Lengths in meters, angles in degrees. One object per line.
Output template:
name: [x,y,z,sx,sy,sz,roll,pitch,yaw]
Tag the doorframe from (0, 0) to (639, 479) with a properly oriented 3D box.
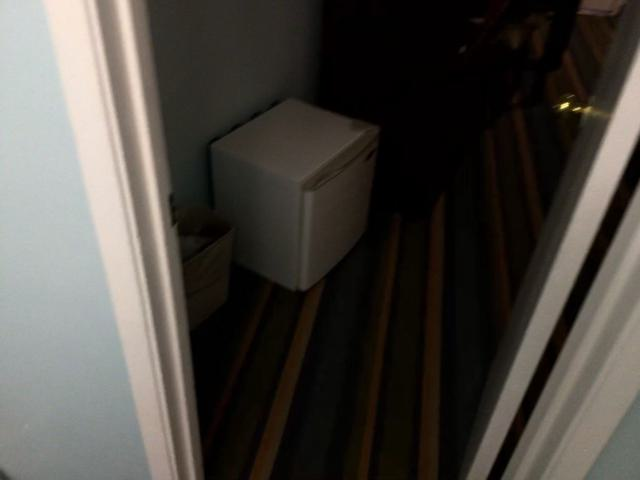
doorframe: [0.030,0.190,0.960,0.710,1.290,0.280,8,39,5]
